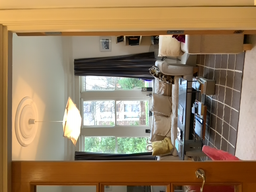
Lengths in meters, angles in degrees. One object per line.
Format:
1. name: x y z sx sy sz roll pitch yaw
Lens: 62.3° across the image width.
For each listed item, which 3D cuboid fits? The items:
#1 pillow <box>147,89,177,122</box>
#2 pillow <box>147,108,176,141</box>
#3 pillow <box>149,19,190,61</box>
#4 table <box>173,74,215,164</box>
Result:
1. pillow: 0.740 0.210 4.640 0.260 0.480 0.520 -115 2 -61
2. pillow: 0.750 0.640 4.750 0.540 0.450 0.220 64 179 -17
3. pillow: 0.760 -1.020 3.880 0.500 0.530 0.230 51 179 -21
4. table: 1.070 0.370 3.560 0.520 0.450 1.420 -92 2 -77
